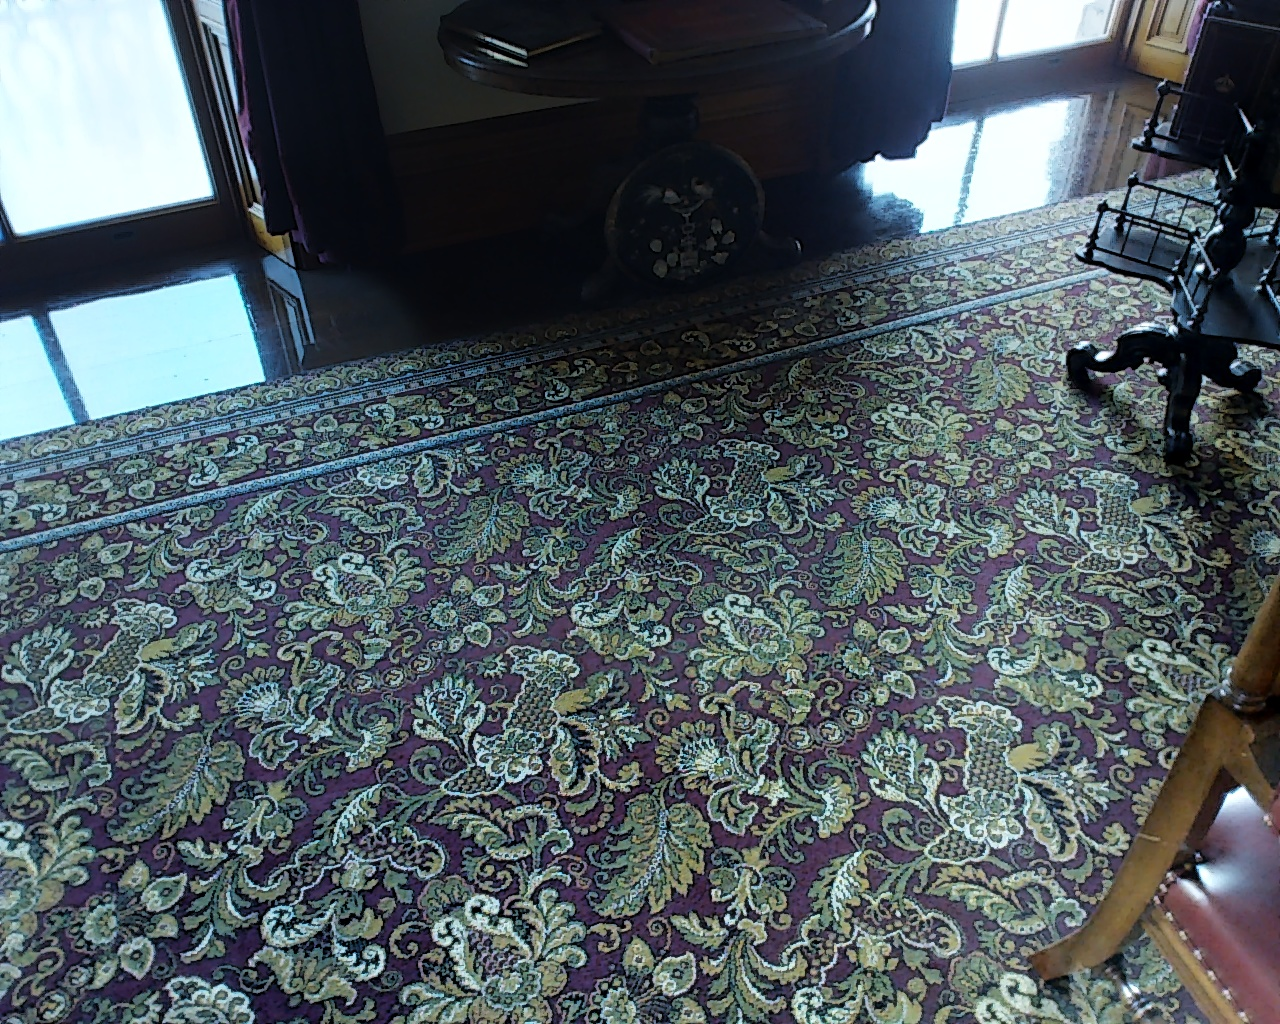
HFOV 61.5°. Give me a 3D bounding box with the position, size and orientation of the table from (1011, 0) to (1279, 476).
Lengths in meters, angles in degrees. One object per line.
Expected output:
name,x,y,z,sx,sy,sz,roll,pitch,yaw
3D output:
table,1.350,-0.800,2.290,0.550,1.230,0.610,-17,44,-18

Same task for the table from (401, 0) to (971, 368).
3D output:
table,0.080,-1.090,2.990,1.210,0.770,0.880,-17,44,-18
